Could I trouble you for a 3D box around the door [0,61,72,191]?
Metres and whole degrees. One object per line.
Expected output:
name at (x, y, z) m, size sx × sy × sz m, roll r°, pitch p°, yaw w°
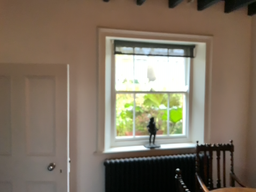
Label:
door at (-0.930, 0.630, 1.940) m, size 0.840 × 1.880 × 0.050 m, roll 1°, pitch 3°, yaw 4°
